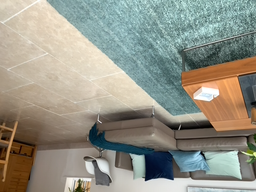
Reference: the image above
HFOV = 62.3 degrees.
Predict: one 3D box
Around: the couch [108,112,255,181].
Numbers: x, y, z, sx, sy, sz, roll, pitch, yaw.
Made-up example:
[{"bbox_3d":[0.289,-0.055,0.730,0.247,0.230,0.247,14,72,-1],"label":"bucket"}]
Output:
[{"bbox_3d":[1.200,0.800,3.130,2.980,0.740,0.870,-10,152,30],"label":"couch"}]
